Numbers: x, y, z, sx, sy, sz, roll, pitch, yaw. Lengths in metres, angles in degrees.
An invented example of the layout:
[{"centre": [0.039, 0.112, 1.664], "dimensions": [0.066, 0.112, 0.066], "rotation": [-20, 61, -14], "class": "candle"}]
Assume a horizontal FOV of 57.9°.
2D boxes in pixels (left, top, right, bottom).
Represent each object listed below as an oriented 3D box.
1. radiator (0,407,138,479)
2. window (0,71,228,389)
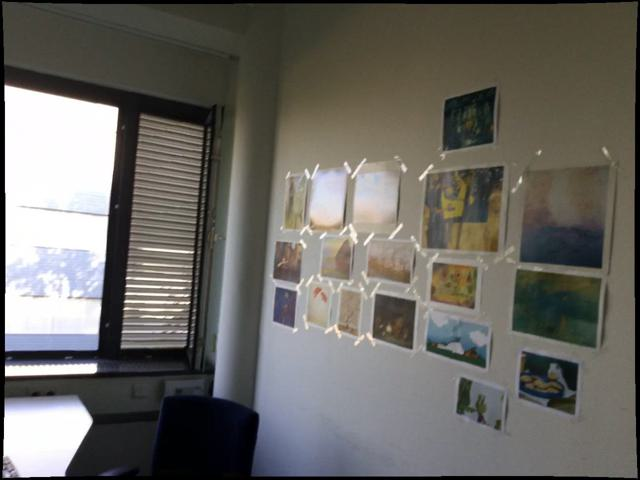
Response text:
[{"centre": [-1.439, 1.241, 3.150], "dimensions": [0.779, 0.500, 0.280], "rotation": [3, 2, -33], "class": "radiator"}, {"centre": [-2.118, -0.070, 2.900], "dimensions": [3.318, 1.652, 0.320], "rotation": [3, 2, -33], "class": "window"}]
